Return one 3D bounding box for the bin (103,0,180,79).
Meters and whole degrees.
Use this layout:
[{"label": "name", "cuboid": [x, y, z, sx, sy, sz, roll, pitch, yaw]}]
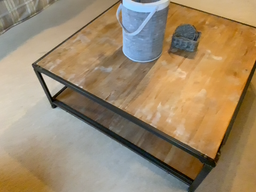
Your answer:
[{"label": "bin", "cuboid": [0.070, -0.350, 1.110, 0.260, 0.370, 0.270, 28, 57, 20]}]
